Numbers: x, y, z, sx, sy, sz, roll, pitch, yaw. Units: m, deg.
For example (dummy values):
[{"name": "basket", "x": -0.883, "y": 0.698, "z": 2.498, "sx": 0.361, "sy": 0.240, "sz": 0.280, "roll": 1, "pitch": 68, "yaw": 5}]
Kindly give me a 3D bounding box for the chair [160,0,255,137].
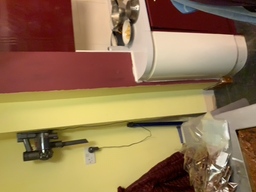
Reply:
[{"name": "chair", "x": 0.720, "y": -0.200, "z": 0.890, "sx": 0.470, "sy": 1.010, "sz": 0.560, "roll": 172, "pitch": 94, "yaw": -70}]
